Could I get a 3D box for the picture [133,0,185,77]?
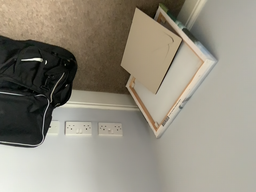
[{"bbox_3d":[0.130,-0.250,1.000,0.070,0.270,0.330,13,174,-15],"label":"picture"}]
